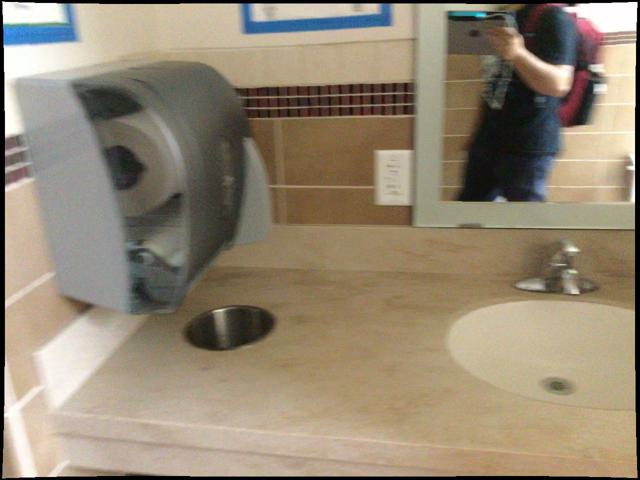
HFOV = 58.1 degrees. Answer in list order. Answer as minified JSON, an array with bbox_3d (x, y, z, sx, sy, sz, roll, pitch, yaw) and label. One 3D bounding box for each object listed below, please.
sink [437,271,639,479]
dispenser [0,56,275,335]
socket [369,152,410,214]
[{"bbox_3d":[0.429,0.231,1.010,0.429,0.200,0.380,0,22,13],"label":"sink"},{"bbox_3d":[-0.269,-0.090,0.980,0.269,0.381,0.310,0,22,13],"label":"dispenser"},{"bbox_3d":[0.150,-0.120,1.230,0.080,0.130,0.020,0,22,13],"label":"socket"}]
